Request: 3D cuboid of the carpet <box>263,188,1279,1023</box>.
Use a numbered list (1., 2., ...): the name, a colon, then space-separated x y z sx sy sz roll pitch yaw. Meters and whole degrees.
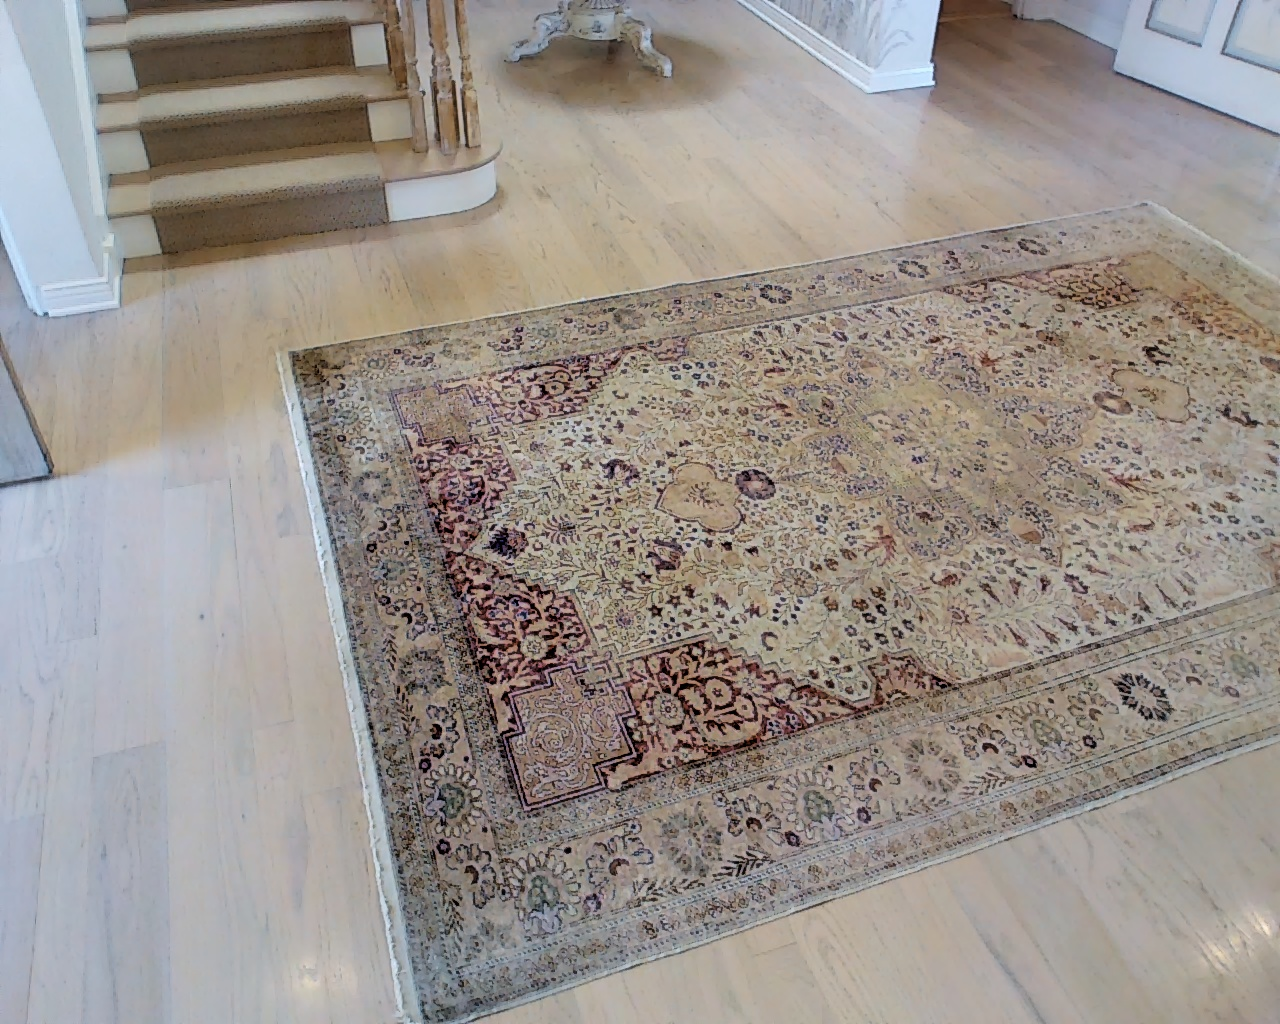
1. carpet: 0.770 -0.160 2.720 3.110 0.020 2.120 -14 43 -16
